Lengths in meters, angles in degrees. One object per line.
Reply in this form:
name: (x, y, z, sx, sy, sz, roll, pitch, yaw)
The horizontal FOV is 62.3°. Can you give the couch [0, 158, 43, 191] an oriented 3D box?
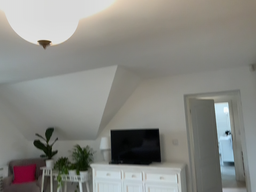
couch: (-2.240, 1.820, 4.300, 0.790, 0.910, 0.730, -2, -6, -9)
